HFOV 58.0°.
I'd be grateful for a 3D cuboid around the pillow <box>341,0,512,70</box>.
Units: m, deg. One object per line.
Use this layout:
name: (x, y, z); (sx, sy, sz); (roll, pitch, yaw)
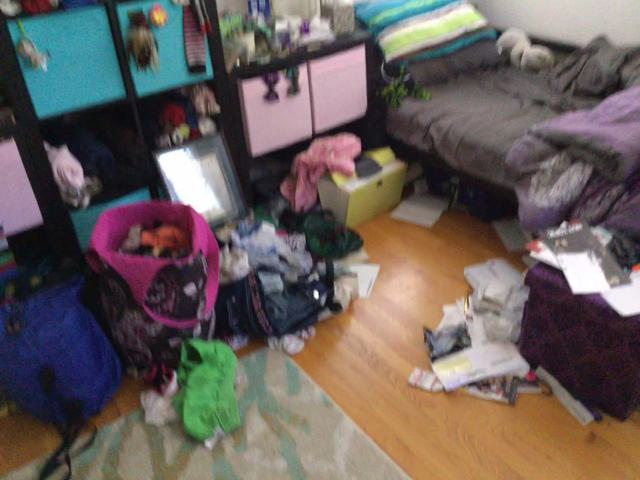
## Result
pillow: (0.540, -1.140, 2.960); (0.680, 0.330, 0.520); (-22, 33, -28)
